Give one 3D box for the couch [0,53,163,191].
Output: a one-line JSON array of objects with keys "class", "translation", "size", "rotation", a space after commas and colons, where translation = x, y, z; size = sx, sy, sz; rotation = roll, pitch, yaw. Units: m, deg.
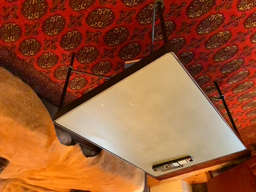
[{"class": "couch", "translation": [-0.800, 0.610, 1.590], "size": [1.060, 0.860, 2.440], "rotation": [-27, 133, 26]}]
